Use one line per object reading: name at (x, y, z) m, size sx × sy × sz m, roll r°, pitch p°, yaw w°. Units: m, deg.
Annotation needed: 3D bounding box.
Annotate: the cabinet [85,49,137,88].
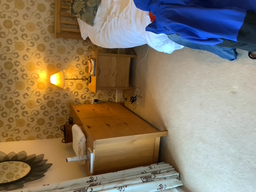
cabinet at (-0.260, -0.400, 3.060) m, size 0.480 × 0.600 × 0.490 m, roll -156°, pitch 68°, yaw -63°
